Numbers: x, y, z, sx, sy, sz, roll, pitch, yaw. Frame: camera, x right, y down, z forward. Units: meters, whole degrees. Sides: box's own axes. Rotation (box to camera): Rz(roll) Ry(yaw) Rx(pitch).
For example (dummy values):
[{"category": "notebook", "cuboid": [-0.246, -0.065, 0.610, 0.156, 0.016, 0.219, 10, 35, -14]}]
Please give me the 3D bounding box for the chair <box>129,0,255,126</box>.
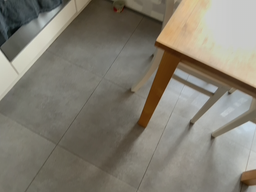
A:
[{"category": "chair", "cuboid": [0.330, -0.250, 1.030, 0.460, 0.790, 0.390, 27, 65, 8]}]
